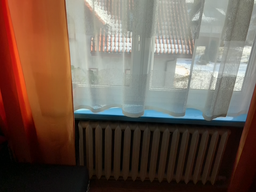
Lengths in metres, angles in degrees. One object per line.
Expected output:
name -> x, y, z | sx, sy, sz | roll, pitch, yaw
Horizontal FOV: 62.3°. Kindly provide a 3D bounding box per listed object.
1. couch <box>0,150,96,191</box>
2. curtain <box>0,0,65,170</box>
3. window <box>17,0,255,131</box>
couch -> -0.580, 0.790, 1.470 | 0.610, 0.440, 0.710 | 3, 23, -1
curtain -> -0.790, -0.510, 1.340 | 0.580, 2.220, 0.300 | 2, 23, -5
window -> 0.110, -0.630, 1.290 | 1.520, 1.780, 0.150 | 3, 23, -1
